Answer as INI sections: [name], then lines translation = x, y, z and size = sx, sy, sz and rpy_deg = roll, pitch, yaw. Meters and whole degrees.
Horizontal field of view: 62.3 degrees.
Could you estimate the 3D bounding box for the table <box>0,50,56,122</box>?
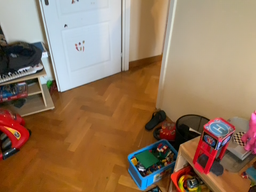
[table]
translation = -1.110, -0.110, 2.060
size = 0.630, 0.430, 0.470
rpy_deg = -15, 41, -24
